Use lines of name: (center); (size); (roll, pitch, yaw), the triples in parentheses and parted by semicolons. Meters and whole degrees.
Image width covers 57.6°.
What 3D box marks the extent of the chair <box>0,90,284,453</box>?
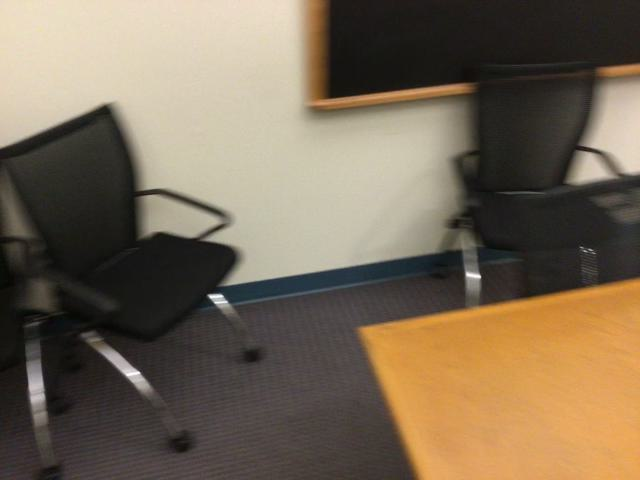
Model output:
chair: (-0.580, 0.070, 1.860); (0.630, 0.910, 0.550); (10, 35, 25)

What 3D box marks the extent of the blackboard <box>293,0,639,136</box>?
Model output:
blackboard: (0.730, -0.770, 1.990); (1.620, 0.590, 0.120); (-9, 32, -4)

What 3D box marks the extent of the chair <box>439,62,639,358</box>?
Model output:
chair: (0.810, -0.110, 2.100); (0.660, 0.840, 0.600); (-4, 32, 5)
